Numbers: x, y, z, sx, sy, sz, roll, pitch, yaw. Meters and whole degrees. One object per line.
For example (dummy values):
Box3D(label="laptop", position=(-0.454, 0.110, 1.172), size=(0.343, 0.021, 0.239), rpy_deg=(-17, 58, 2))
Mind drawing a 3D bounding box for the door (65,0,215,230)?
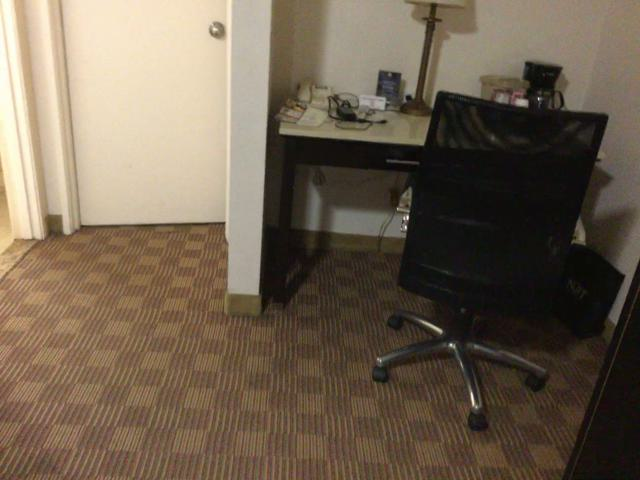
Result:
Box3D(label="door", position=(-0.820, -0.950, 2.650), size=(0.630, 1.890, 0.110), rpy_deg=(4, 24, -15))

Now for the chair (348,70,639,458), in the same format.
Box3D(label="chair", position=(0.540, 0.020, 1.950), size=(0.590, 1.030, 0.670), rpy_deg=(14, 22, 14))
